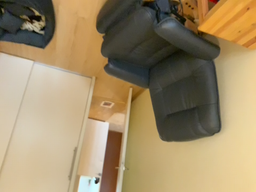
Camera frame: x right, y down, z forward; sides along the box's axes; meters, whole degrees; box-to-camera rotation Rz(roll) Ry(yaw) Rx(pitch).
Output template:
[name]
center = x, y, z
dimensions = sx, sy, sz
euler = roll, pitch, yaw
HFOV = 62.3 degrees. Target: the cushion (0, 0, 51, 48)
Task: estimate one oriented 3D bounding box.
[cushion]
center = -0.970, -0.690, 1.820
dimensions = 0.550, 0.130, 0.550
euler = 13, 156, -16
